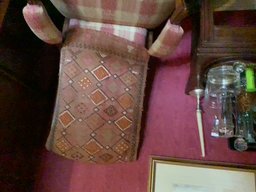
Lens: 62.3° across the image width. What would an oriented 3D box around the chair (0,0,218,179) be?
[{"bbox_3d":[-0.090,-0.290,0.950,0.510,1.130,0.760,10,163,-16],"label":"chair"}]
